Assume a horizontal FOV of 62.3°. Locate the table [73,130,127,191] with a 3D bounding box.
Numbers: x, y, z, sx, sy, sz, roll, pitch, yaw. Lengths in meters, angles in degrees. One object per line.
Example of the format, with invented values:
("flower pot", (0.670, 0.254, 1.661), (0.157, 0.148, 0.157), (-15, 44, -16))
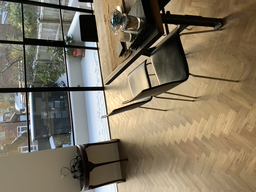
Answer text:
("table", (-0.480, 1.040, 3.550), (0.340, 0.720, 0.830), (-31, 65, 58))
